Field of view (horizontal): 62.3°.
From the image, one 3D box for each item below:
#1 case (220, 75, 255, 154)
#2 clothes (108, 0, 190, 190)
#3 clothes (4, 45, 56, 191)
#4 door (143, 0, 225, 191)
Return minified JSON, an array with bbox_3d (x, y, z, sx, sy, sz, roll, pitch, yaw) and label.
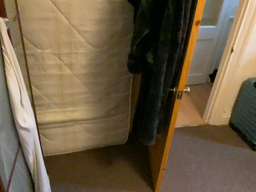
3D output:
[{"bbox_3d":[1.330,0.170,2.160,0.360,0.620,0.470,-3,32,-16],"label":"case"},{"bbox_3d":[0.090,-0.220,1.380,0.290,1.700,0.630,6,30,-1],"label":"clothes"},{"bbox_3d":[-0.500,0.290,1.190,0.090,1.090,0.260,-2,31,-13],"label":"clothes"},{"bbox_3d":[0.320,-0.310,1.470,0.150,1.990,0.870,6,30,-1],"label":"door"}]
